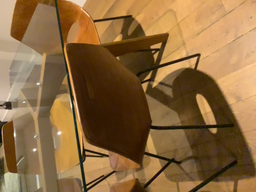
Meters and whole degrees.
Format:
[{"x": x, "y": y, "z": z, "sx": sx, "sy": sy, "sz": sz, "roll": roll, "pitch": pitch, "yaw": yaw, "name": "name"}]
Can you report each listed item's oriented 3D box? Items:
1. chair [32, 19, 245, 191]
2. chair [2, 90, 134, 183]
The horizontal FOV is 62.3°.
[{"x": 0.050, "y": 0.080, "z": 0.970, "sx": 0.430, "sy": 0.760, "sz": 0.510, "roll": -37, "pitch": 62, "yaw": 45, "name": "chair"}, {"x": -0.430, "y": 0.270, "z": 1.550, "sx": 0.440, "sy": 0.770, "sz": 0.500, "roll": -25, "pitch": 71, "yaw": 48, "name": "chair"}]
